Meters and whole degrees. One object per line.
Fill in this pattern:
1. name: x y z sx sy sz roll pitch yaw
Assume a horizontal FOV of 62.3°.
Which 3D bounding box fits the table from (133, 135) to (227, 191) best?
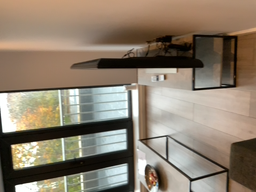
1. table: 0.470 0.870 2.310 1.060 0.440 0.540 -161 68 -67
